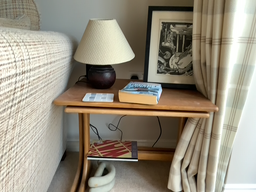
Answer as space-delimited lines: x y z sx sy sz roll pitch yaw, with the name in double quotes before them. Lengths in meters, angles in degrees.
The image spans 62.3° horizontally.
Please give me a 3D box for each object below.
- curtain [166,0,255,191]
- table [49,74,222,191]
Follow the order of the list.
"curtain" 0.410 -0.600 0.770 0.290 2.160 0.230 2 16 -3
"table" 0.000 0.190 1.030 0.570 0.480 0.570 1 16 -5
